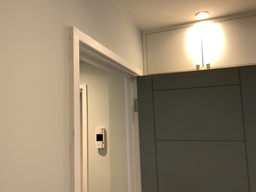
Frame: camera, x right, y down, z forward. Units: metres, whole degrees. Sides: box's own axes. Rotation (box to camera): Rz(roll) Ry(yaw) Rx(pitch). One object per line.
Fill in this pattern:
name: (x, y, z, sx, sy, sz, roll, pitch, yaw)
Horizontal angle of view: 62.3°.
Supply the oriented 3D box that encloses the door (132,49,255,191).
door: (0.440, 0.730, 1.300, 0.770, 1.990, 0.050, -3, -5, 12)
